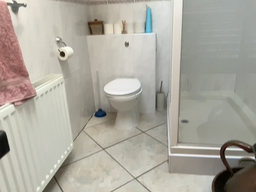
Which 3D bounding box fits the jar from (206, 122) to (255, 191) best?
[{"bbox_3d":[0.700,0.440,1.110,0.450,0.390,0.500,1,21,11],"label":"jar"}]
